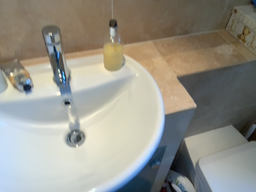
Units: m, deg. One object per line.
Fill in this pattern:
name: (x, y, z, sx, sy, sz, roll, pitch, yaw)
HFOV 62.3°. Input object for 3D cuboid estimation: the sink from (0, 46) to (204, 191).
sink: (-0.160, 0.100, 0.630, 0.540, 0.200, 0.460, -11, 49, -14)
